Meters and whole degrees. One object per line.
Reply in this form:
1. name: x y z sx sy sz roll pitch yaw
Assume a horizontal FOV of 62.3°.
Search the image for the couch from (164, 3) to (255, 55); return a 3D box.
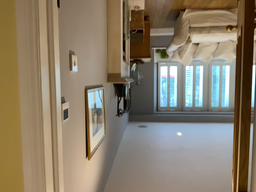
1. couch: 2.000 -1.300 4.320 2.430 0.780 1.010 0 -175 5
